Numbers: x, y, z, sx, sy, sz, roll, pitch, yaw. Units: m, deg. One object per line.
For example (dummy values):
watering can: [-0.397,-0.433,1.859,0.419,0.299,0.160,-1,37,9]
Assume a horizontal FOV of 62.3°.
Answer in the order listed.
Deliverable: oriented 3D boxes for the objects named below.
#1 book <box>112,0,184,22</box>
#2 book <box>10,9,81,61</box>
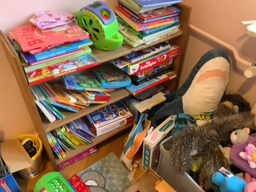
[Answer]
book: [0.100,-0.500,1.110,0.260,0.090,0.270,-23,46,-28]
book: [-0.340,-0.260,0.870,0.180,0.090,0.250,-25,47,-29]
